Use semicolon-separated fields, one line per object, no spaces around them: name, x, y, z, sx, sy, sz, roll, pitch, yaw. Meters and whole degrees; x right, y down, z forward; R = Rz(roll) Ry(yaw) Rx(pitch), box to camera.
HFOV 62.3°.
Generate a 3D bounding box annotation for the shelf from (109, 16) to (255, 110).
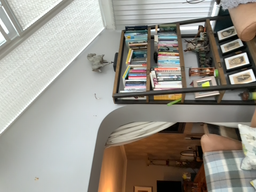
shelf;0.600;-0.470;2.730;0.350;1.520;1.300;82;-170;-53
